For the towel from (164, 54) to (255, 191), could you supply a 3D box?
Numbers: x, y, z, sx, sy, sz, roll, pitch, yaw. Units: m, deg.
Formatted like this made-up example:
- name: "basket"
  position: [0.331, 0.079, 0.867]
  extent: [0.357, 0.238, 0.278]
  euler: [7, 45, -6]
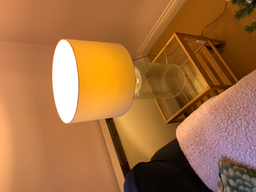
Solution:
- name: "towel"
  position: [0.390, 0.140, 0.740]
  extent: [0.380, 0.210, 0.400]
  euler: [-47, 55, 46]

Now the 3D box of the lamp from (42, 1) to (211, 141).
- name: "lamp"
  position: [-0.030, -0.080, 0.970]
  extent: [0.410, 0.570, 0.360]
  euler: [-46, 55, 47]
